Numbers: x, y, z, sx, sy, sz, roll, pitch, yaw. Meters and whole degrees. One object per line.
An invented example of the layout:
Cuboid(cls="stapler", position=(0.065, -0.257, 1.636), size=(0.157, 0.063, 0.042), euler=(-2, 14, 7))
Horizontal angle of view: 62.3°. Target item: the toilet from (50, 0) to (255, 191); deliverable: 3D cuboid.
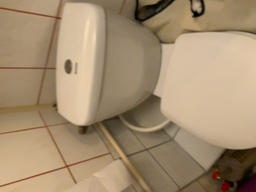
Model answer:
Cuboid(cls="toilet", position=(0.240, -0.060, 0.790), size=(0.660, 0.780, 0.400), euler=(21, 109, 43))
